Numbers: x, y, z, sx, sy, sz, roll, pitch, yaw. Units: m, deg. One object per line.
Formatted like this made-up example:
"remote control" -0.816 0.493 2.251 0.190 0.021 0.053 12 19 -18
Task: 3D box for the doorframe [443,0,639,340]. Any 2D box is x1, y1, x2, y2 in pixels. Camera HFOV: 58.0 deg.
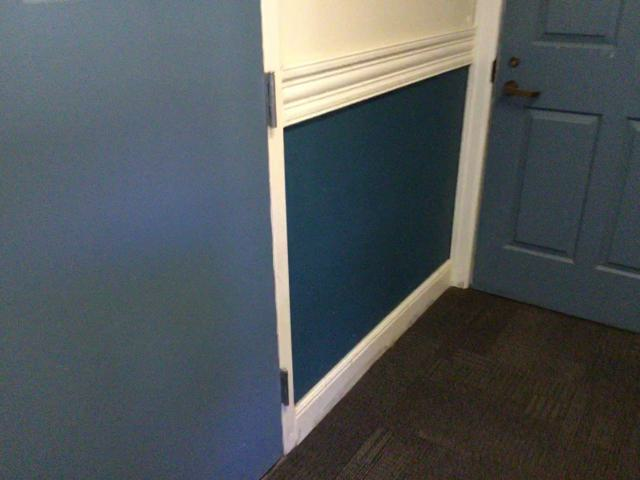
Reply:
"doorframe" 1.030 -0.530 1.960 1.120 1.840 0.130 14 29 31
